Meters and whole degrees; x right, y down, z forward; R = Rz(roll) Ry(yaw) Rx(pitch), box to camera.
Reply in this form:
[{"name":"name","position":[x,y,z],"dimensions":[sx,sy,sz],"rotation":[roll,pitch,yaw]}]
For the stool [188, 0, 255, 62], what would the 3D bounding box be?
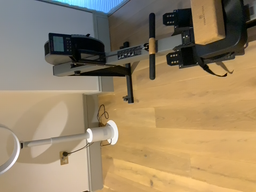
[{"name":"stool","position":[0.540,-0.370,1.110],"dimensions":[0.250,0.360,0.320],"rotation":[-4,89,53]}]
